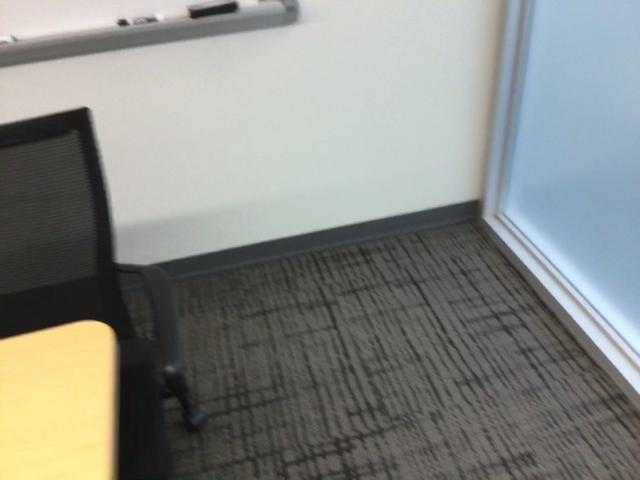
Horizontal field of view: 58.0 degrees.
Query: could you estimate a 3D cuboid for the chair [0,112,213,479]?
[{"bbox_3d":[-0.580,0.310,1.050,0.650,0.840,0.570,-10,34,-9],"label":"chair"}]
